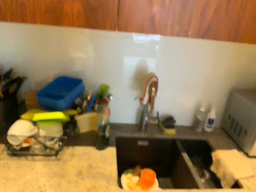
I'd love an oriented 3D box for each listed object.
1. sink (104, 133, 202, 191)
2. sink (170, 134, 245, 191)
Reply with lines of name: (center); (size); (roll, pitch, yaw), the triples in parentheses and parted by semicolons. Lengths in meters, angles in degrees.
sink: (0.080, 0.390, 1.050); (0.380, 0.230, 0.390); (3, 22, -7)
sink: (0.370, 0.370, 1.080); (0.180, 0.160, 0.390); (3, 22, -7)
